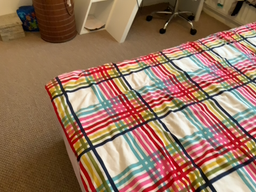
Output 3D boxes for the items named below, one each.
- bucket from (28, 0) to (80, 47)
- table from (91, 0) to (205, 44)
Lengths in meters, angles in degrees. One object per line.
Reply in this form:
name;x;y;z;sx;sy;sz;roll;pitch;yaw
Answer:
bucket;-0.710;-0.830;1.990;0.350;0.520;0.400;-19;50;-21
table;0.220;-1.110;2.270;1.070;0.620;0.650;-21;51;-23
